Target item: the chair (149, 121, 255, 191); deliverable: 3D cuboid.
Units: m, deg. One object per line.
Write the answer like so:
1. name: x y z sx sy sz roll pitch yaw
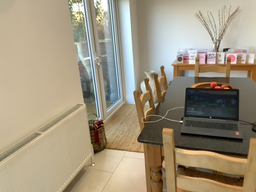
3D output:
1. chair: 0.430 0.670 1.270 0.440 0.860 0.490 5 22 24

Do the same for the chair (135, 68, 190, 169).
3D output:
1. chair: 0.400 0.220 2.350 0.490 0.980 0.470 3 21 18

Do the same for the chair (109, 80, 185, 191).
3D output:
1. chair: 0.200 0.410 1.850 0.490 0.980 0.460 4 21 22
